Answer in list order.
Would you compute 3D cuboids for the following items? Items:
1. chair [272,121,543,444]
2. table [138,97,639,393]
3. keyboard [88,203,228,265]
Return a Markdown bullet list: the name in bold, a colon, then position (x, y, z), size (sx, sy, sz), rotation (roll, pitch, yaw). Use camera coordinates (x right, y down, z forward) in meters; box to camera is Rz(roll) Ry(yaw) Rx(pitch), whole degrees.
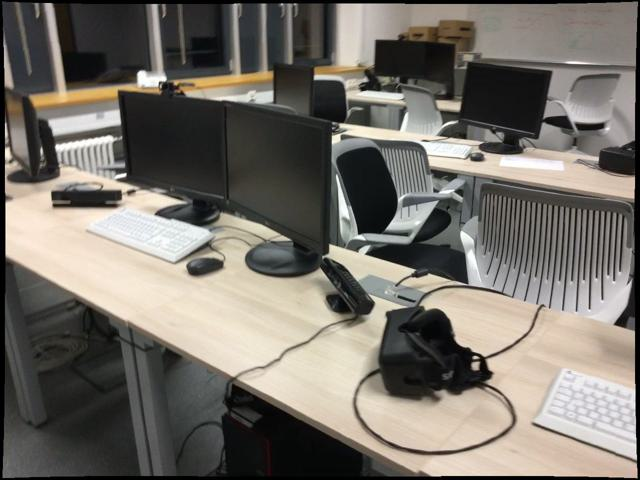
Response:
- **chair**: position (0.330, 0.090, 2.210), size (0.750, 0.931, 0.580), rotation (15, 29, 38)
- **table**: position (0.619, -0.190, 3.180), size (4.038, 0.841, 0.950), rotation (15, 29, 38)
- **keyboard**: position (-0.539, -0.030, 1.900), size (0.470, 0.050, 0.210), rotation (15, 29, 38)
